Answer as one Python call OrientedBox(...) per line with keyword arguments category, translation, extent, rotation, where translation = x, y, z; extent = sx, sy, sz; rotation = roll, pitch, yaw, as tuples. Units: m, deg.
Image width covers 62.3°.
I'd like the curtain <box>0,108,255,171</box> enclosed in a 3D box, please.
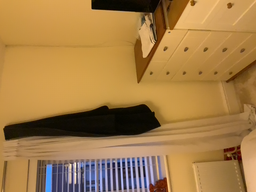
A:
OrientedBox(category="curtain", translation=(0.080, 0.360, 1.880), extent=(0.190, 2.220, 0.410), rotation=(116, 151, -69))
